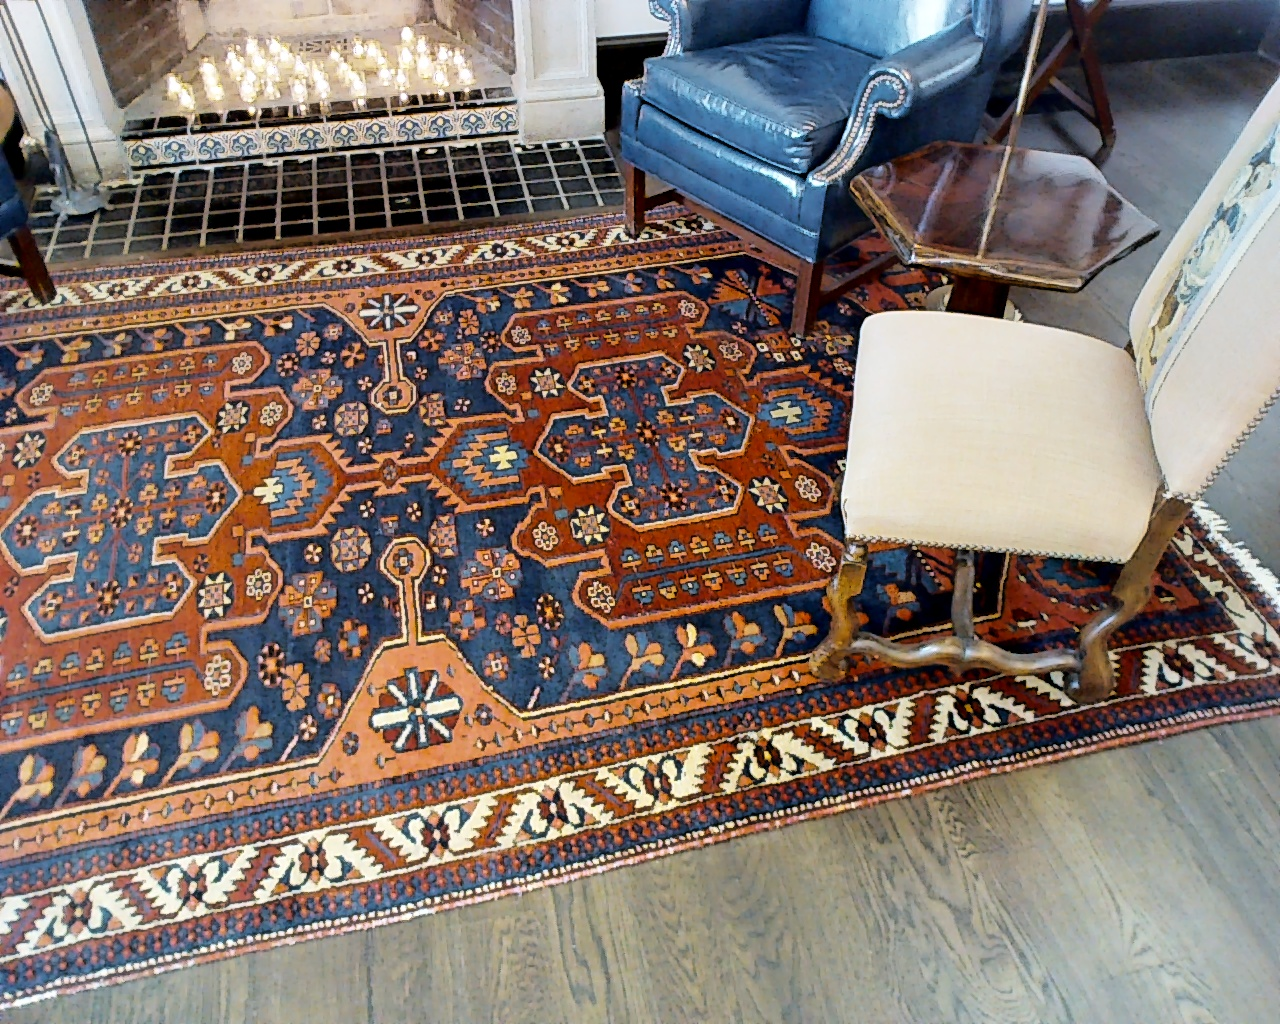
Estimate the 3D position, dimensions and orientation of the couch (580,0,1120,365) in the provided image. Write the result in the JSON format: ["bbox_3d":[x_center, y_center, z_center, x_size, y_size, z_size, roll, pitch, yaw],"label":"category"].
[{"bbox_3d":[0.500,-1.200,2.700,0.900,1.090,0.950,-30,51,-28],"label":"couch"}]

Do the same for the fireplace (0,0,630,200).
[{"bbox_3d":[-1.010,-1.780,2.920,1.940,1.650,0.290,-9,44,-9],"label":"fireplace"}]

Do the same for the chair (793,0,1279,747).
[{"bbox_3d":[0.640,-0.250,1.680,0.630,1.100,0.590,8,44,9],"label":"chair"}]
